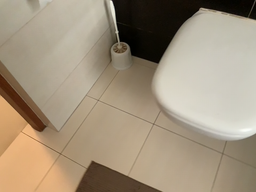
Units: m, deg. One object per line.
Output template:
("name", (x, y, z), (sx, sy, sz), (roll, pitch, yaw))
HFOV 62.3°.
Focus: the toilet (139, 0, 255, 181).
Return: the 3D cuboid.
("toilet", (0.320, -0.040, 0.820), (0.360, 0.370, 0.510), (22, 61, 18))
